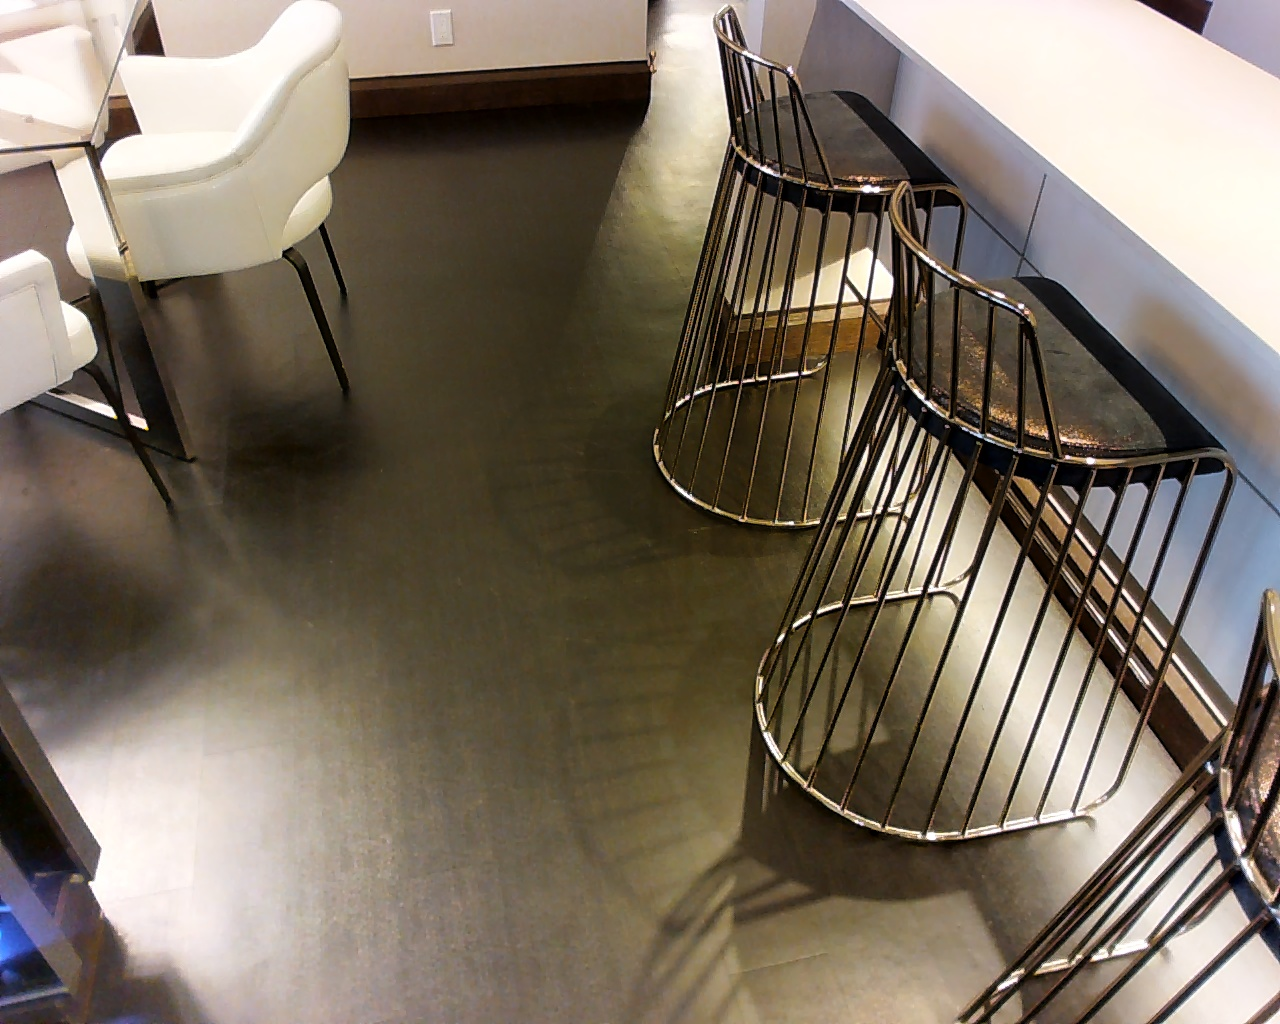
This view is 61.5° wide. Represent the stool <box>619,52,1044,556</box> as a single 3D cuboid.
[{"bbox_3d":[0.320,-0.430,2.250,0.620,0.820,0.540,-8,43,-10],"label":"stool"}]
